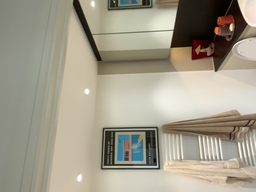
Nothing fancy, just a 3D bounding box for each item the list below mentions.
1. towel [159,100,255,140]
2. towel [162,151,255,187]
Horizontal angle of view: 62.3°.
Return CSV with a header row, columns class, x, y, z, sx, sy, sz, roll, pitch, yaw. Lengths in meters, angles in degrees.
class,x,y,z,sx,sy,sz,roll,pitch,yaw
towel,0.990,0.250,2.170,0.220,1.310,0.350,76,-167,-70
towel,0.830,0.700,2.040,0.200,0.970,0.310,75,-166,-70
